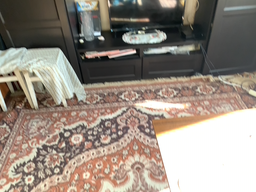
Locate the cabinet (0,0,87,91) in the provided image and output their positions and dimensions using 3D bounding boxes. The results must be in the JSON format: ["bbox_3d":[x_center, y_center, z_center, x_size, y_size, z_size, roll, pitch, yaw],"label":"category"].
[{"bbox_3d":[-0.810,-0.950,1.680,0.630,1.890,0.500,-5,41,-3],"label":"cabinet"}]

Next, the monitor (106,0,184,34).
[{"bbox_3d":[0.160,-0.830,2.020,0.720,0.440,0.040,-4,41,-2],"label":"monitor"}]

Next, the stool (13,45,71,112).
[{"bbox_3d":[-0.720,-0.150,1.870,0.290,0.480,0.310,-5,41,-2],"label":"stool"}]

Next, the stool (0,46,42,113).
[{"bbox_3d":[-1.020,-0.140,1.880,0.300,0.480,0.310,-5,41,-3],"label":"stool"}]
